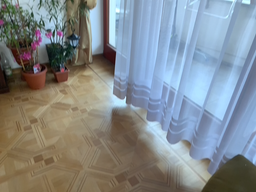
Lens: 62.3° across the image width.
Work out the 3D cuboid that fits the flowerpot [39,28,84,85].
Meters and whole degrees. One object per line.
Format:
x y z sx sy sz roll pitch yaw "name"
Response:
-0.870 -0.540 2.790 0.350 0.490 0.640 -16 39 -27 "flowerpot"
